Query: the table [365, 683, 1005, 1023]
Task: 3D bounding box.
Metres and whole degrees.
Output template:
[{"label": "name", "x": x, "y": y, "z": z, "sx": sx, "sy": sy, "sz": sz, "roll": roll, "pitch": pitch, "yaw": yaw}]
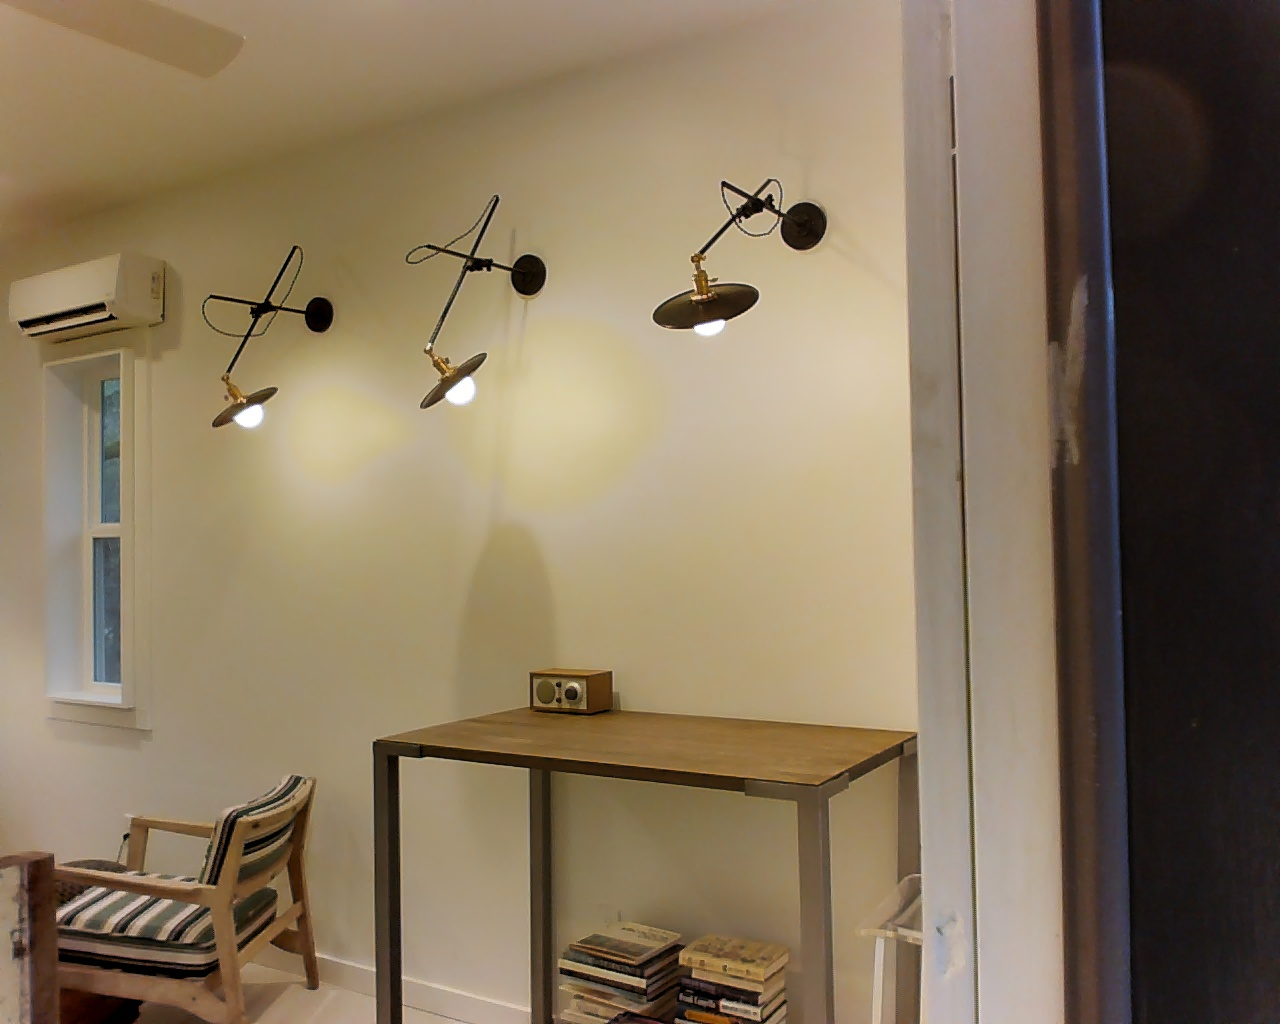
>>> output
[{"label": "table", "x": 0.100, "y": 1.070, "z": 2.770, "sx": 1.440, "sy": 1.080, "sz": 0.770, "roll": -2, "pitch": -2, "yaw": 32}]
